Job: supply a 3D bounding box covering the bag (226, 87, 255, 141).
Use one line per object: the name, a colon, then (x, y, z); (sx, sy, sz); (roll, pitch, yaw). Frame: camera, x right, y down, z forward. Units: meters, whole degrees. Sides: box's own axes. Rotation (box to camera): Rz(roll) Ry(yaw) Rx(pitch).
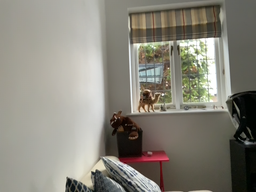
bag: (1.190, 0.180, 2.090); (0.330, 0.490, 0.190); (-3, 22, 9)
